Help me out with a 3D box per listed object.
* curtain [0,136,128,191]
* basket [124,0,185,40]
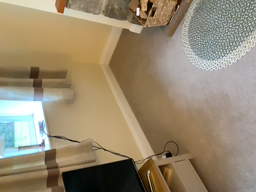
[{"bbox_3d":[-0.790,0.550,1.370,0.180,1.620,0.400,-60,43,36],"label":"curtain"},{"bbox_3d":[0.230,-0.770,1.940,0.360,0.340,0.270,-60,43,36],"label":"basket"}]
